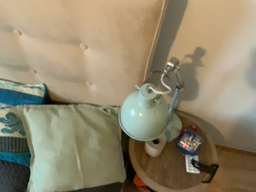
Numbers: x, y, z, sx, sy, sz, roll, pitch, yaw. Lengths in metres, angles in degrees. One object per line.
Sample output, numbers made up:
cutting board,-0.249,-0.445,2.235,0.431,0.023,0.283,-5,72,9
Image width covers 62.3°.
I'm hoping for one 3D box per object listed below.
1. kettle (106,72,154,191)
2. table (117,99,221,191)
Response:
kettle,-0.010,0.160,0.700,0.080,0.480,0.210,10,56,-1
table,0.210,0.360,1.260,0.460,0.420,0.450,11,56,0
